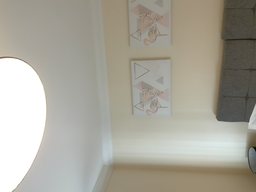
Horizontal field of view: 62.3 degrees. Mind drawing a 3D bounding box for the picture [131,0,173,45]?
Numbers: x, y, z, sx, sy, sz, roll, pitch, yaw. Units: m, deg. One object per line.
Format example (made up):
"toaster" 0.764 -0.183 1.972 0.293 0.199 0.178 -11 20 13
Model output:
"picture" 0.230 -0.800 2.020 0.060 0.380 0.590 -64 -27 -69
